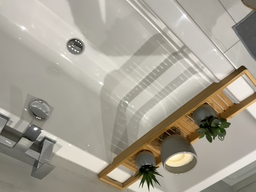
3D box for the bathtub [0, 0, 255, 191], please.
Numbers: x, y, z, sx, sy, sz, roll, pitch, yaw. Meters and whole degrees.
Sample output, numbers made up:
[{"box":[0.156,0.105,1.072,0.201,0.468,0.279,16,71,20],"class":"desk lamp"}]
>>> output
[{"box":[-0.150,-0.200,0.860,1.680,0.550,0.690,36,116,-27],"class":"bathtub"}]
